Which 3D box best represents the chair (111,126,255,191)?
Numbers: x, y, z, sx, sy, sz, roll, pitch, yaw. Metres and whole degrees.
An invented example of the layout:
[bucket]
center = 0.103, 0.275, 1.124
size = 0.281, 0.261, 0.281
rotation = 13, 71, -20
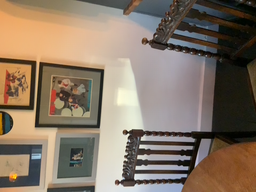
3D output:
[chair]
center = 0.490, 0.460, 1.290
size = 0.490, 1.060, 0.430
rotation = -158, 72, -70
